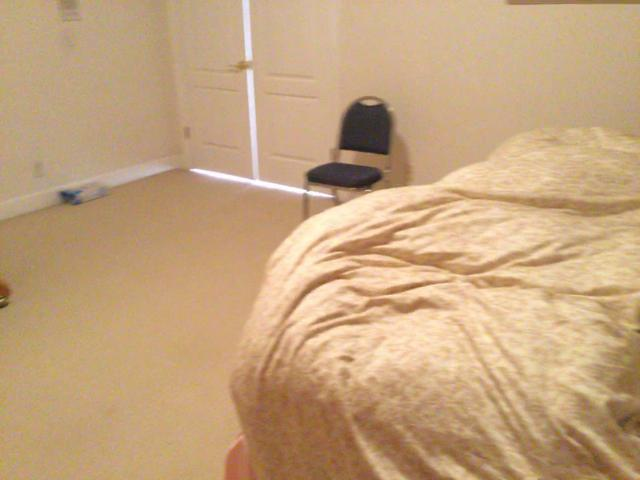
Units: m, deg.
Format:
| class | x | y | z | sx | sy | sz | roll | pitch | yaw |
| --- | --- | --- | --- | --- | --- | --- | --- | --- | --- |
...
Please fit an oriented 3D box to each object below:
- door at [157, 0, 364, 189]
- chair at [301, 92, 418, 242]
| class | x | y | z | sx | sy | sz | roll | pitch | yaw |
| --- | --- | --- | --- | --- | --- | --- | --- | --- | --- |
| door | -0.470 | -1.360 | 4.120 | 1.580 | 1.730 | 0.250 | 14 | 25 | 28 |
| chair | 0.230 | -0.450 | 3.390 | 0.430 | 0.700 | 0.550 | 17 | 29 | 32 |
